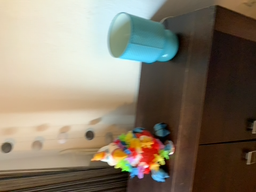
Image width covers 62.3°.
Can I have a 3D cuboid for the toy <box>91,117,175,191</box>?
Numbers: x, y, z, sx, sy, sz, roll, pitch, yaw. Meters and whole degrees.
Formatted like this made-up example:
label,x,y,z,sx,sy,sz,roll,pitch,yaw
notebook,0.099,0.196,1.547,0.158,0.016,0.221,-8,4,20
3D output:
label,x,y,z,sx,sy,sz,roll,pitch,yaw
toy,0.010,0.260,0.900,0.240,0.240,0.290,17,103,59
